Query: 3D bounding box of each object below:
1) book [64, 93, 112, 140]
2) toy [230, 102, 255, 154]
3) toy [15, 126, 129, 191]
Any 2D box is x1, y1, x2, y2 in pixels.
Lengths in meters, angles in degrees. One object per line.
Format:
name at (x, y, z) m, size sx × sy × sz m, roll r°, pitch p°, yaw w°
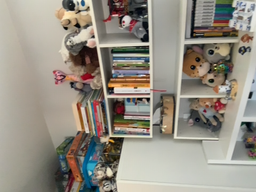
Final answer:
book at (-0.270, 0.140, 1.510) m, size 0.210 × 0.250 × 0.250 m, roll -79°, pitch -13°, yaw -54°
toy at (0.750, 0.190, 1.260) m, size 0.170 × 0.180 × 0.250 m, roll -78°, pitch -14°, yaw -57°
toy at (-0.360, 0.610, 1.670) m, size 0.450 × 0.660 × 0.570 m, roll -78°, pitch -13°, yaw -55°
